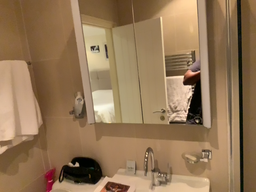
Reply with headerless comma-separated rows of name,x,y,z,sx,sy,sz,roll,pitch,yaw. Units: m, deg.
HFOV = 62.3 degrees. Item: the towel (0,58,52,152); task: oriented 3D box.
towel,-0.690,0.040,1.200,0.110,0.470,0.490,-1,12,26
